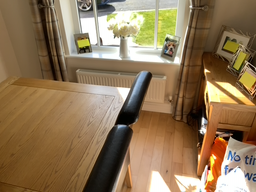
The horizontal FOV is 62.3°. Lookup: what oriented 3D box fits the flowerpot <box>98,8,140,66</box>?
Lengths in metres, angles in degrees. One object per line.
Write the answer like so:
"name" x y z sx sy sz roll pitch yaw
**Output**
"flowerpot" -0.080 -0.650 2.320 0.350 0.520 0.290 9 35 15
